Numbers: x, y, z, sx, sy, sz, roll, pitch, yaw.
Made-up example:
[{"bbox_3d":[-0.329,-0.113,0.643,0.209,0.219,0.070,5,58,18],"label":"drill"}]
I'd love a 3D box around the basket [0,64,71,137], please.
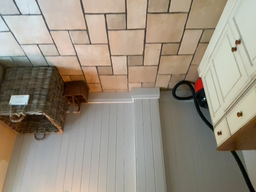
[{"bbox_3d":[-1.040,0.070,2.350,0.590,0.590,0.620,-1,151,0],"label":"basket"}]
